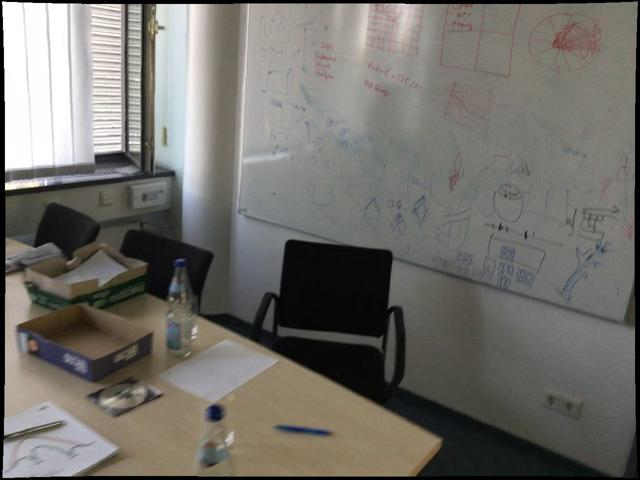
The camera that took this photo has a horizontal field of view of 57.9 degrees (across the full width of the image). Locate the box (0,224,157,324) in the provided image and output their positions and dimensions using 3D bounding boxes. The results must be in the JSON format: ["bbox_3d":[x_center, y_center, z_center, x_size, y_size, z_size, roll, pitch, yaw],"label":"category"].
[{"bbox_3d":[-0.859,0.100,2.050,0.430,0.150,0.350,18,24,35],"label":"box"}]

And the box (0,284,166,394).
[{"bbox_3d":[-0.729,0.270,1.700,0.450,0.080,0.300,14,22,27],"label":"box"}]

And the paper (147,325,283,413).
[{"bbox_3d":[-0.290,0.350,1.630,0.220,0.050,0.310,18,24,35],"label":"paper"}]
